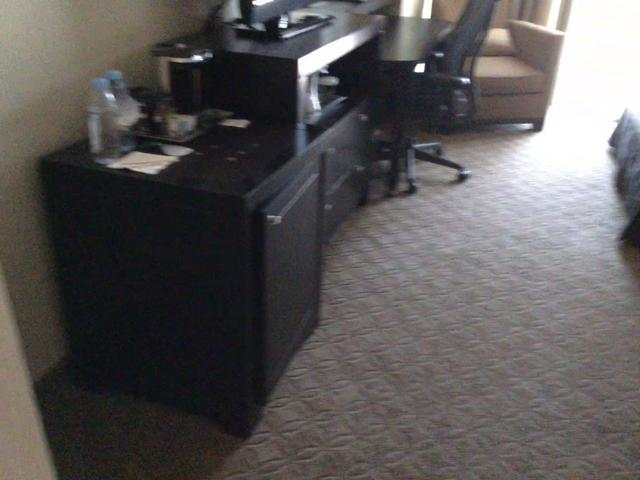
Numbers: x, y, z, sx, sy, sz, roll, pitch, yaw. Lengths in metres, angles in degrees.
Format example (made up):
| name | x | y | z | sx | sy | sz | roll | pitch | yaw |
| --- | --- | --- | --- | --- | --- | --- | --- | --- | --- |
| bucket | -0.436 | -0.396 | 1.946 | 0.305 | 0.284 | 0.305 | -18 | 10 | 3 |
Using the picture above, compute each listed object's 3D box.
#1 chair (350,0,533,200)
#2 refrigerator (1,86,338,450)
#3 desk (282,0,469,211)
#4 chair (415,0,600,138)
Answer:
| name | x | y | z | sx | sy | sz | roll | pitch | yaw |
| --- | --- | --- | --- | --- | --- | --- | --- | --- | --- |
| chair | 0.600 | -0.880 | 3.230 | 0.750 | 1.100 | 0.720 | -1 | 28 | -4 |
| refrigerator | -0.380 | 0.030 | 1.830 | 0.670 | 0.820 | 0.670 | 11 | 30 | 18 |
| desk | 0.390 | -0.960 | 3.490 | 0.710 | 1.000 | 1.400 | 11 | 30 | 18 |
| chair | 1.290 | -1.350 | 4.230 | 0.850 | 0.910 | 0.920 | -4 | 29 | -9 |
